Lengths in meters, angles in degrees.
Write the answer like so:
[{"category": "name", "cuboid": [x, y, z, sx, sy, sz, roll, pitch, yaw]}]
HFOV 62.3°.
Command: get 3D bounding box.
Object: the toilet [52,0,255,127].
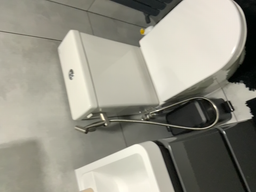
[{"category": "toilet", "cuboid": [0.200, -0.190, 1.020, 0.660, 0.830, 0.390, -34, 67, 43]}]
